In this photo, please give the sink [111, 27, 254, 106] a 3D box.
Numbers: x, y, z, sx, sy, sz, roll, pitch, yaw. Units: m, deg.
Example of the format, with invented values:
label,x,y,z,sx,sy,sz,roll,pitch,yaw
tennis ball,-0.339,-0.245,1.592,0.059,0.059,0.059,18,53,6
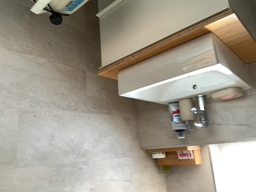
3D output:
label,x,y,z,sx,sy,sz,roll,pitch,yaw
sink,0.250,-0.080,0.970,0.460,0.120,0.460,-17,161,40
